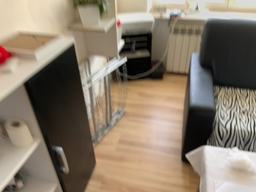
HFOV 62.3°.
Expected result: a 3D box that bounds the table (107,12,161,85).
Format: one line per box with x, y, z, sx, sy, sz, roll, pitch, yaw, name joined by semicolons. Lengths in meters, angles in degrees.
0.060;-0.570;2.590;0.570;0.780;0.310;-5;35;-6;table
